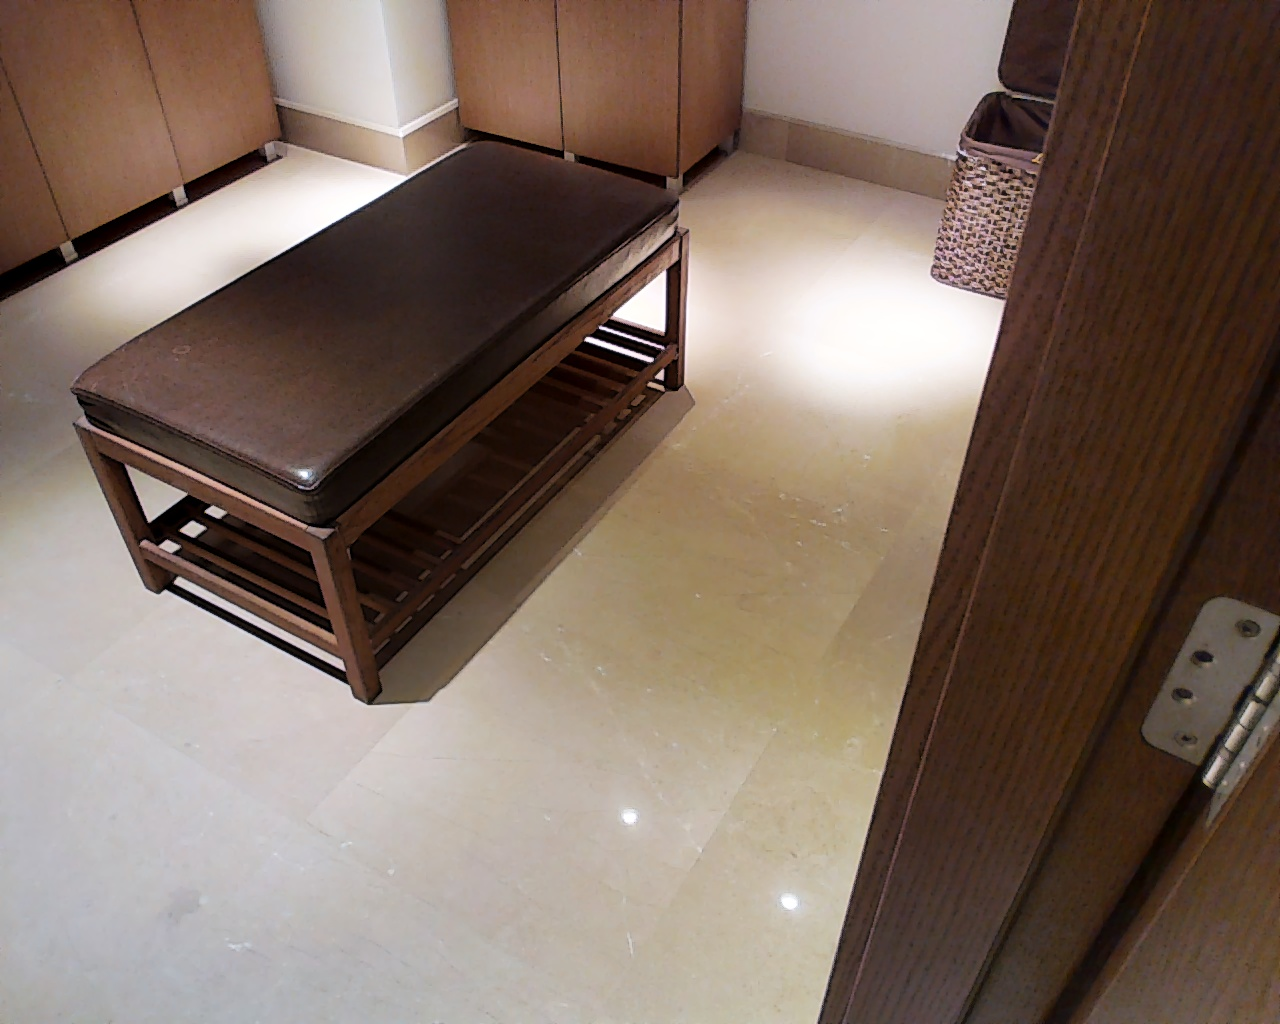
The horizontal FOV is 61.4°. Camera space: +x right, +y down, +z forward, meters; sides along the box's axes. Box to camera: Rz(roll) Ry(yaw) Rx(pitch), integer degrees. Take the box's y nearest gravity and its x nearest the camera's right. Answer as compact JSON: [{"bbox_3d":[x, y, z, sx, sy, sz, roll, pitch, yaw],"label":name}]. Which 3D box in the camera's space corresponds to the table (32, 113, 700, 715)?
[{"bbox_3d":[-0.460,-0.300,2.320,0.640,0.570,1.230,22,47,22],"label":"table"}]
